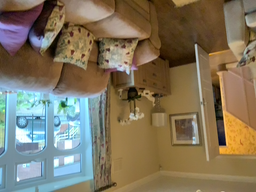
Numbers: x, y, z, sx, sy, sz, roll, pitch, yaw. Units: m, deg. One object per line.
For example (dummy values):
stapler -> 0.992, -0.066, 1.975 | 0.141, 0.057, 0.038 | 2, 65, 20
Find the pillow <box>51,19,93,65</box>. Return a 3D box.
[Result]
pillow -> -0.510, -0.480, 1.960 | 0.190, 0.320, 0.320 | 4, 176, 22

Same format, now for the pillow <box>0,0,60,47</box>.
pillow -> -0.730, -0.560, 1.480 | 0.330, 0.280, 0.350 | -8, 171, 31

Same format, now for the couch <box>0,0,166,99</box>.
couch -> -0.500, -0.610, 1.920 | 0.970, 1.060, 1.670 | -8, 171, 34
